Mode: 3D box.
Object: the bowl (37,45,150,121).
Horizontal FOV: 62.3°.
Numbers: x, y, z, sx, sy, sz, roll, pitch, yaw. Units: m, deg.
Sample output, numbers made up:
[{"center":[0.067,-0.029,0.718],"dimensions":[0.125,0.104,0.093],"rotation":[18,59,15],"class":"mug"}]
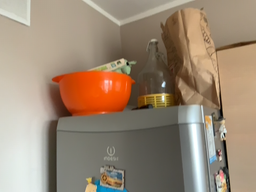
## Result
[{"center":[-0.140,-0.020,1.020],"dimensions":[0.340,0.250,0.420],"rotation":[-7,-10,29],"class":"bowl"}]
